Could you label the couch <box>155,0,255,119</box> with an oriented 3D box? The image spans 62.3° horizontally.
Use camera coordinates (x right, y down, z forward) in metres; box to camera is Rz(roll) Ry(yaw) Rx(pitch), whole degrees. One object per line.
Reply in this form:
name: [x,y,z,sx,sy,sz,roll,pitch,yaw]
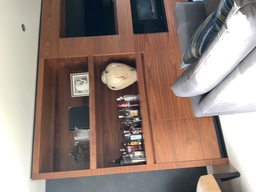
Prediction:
couch: [0.700,-0.580,1.330,1.240,0.790,1.120,91,175,-70]
